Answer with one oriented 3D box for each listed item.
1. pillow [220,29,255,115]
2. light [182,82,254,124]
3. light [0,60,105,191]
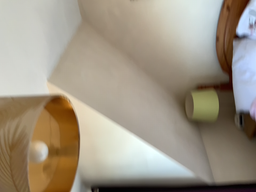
[{"bbox_3d":[1.060,-0.210,1.970,0.390,0.160,0.690,-85,-7,-51],"label":"pillow"},{"bbox_3d":[0.950,0.060,2.360,0.480,0.600,0.310,-77,-15,-72],"label":"light"},{"bbox_3d":[-0.330,0.170,0.590,0.360,0.380,0.410,13,-107,-50],"label":"light"}]
